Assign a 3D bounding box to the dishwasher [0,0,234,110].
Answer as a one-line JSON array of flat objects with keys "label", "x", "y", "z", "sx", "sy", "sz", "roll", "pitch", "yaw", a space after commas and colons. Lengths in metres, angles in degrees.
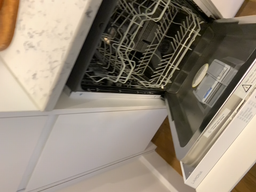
[{"label": "dishwasher", "x": -0.030, "y": -0.310, "z": 0.920, "sx": 0.600, "sy": 0.900, "sz": 0.440, "roll": 40, "pitch": 111, "yaw": 29}]
